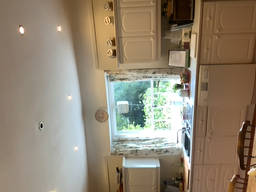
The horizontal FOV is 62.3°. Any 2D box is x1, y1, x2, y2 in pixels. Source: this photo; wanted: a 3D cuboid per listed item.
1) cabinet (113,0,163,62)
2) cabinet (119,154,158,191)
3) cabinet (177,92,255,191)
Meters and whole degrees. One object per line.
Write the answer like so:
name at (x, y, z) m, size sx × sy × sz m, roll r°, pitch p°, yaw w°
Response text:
cabinet at (0.150, -1.090, 3.110) m, size 0.330 × 0.680 × 1.100 m, roll -86°, pitch -6°, yaw -72°
cabinet at (0.200, 1.700, 4.010) m, size 0.310 × 0.680 × 1.170 m, roll -86°, pitch -6°, yaw -72°
cabinet at (1.390, 1.020, 3.620) m, size 0.610 × 0.910 × 2.060 m, roll -86°, pitch -6°, yaw -72°
